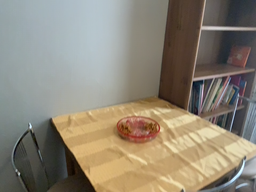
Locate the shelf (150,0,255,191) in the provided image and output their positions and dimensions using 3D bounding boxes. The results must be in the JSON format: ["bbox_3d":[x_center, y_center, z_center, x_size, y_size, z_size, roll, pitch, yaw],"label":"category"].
[{"bbox_3d":[0.650,-0.210,1.660,0.810,1.890,0.320,-12,25,-32],"label":"shelf"}]
